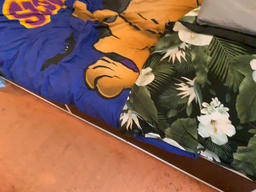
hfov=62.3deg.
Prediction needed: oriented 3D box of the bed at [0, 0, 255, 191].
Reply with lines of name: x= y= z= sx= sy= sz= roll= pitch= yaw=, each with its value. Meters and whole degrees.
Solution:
bed: x=-0.150 y=-0.360 z=1.410 sx=2.170 sy=0.450 sz=1.070 roll=24 pitch=62 yaw=18
